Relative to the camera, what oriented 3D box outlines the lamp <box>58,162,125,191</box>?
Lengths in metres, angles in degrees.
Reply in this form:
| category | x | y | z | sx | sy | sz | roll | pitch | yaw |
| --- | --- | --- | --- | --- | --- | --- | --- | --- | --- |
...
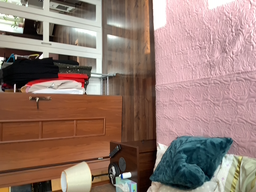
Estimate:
| category | x | y | z | sx | sy | sz | roll | pitch | yaw |
| --- | --- | --- | --- | --- | --- | --- | --- | --- | --- |
| lamp | -0.290 | 0.710 | 1.700 | 0.210 | 0.480 | 0.250 | -12 | 79 | 57 |

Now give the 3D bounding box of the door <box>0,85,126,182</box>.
| category | x | y | z | sx | sy | sz | roll | pitch | yaw |
| --- | --- | --- | --- | --- | --- | --- | --- | --- | --- |
| door | -0.960 | 0.390 | 2.430 | 0.120 | 2.110 | 0.980 | 1 | 90 | 58 |

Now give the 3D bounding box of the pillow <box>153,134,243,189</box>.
| category | x | y | z | sx | sy | sz | roll | pitch | yaw |
| --- | --- | --- | --- | --- | --- | --- | --- | --- | --- |
| pillow | 0.350 | 0.340 | 1.170 | 0.360 | 0.360 | 0.160 | -121 | 32 | -85 |
